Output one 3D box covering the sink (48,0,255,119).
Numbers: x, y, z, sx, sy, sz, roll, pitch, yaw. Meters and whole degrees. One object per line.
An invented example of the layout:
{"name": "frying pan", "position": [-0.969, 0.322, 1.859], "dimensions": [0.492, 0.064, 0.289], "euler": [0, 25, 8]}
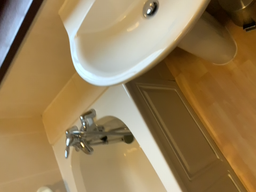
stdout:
{"name": "sink", "position": [0.030, -0.260, 0.640], "dimensions": [0.540, 0.190, 0.430], "euler": [-41, 64, 31]}
